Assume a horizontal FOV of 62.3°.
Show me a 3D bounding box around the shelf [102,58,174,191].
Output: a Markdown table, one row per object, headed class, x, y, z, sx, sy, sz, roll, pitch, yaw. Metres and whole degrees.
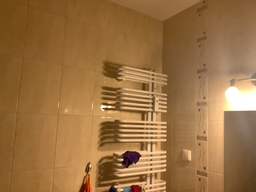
| class | x | y | z | sx | sy | sz | roll | pitch | yaw |
| --- | --- | --- | --- | --- | --- | --- | --- | --- | --- |
| shelf | 0.100 | 0.310 | 1.750 | 0.560 | 1.130 | 0.180 | 7 | -8 | -33 |
